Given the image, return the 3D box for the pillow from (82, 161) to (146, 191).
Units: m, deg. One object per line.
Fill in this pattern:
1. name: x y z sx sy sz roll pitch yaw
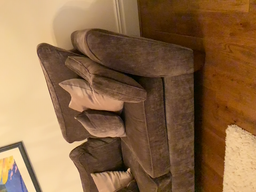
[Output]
1. pillow: -0.110 0.890 1.960 0.200 0.510 0.440 -43 -52 -54
